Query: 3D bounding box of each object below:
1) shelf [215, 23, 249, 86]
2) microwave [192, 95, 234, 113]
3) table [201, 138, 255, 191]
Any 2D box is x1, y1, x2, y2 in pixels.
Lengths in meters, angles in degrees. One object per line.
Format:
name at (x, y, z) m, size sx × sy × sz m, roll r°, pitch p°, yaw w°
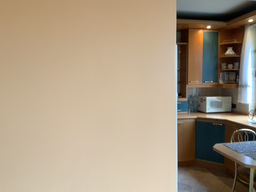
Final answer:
shelf at (1.810, -0.700, 3.710) m, size 0.400 × 1.050 × 0.290 m, roll -1°, pitch 5°, yaw -10°
microwave at (1.610, 0.140, 4.040) m, size 0.640 × 0.300 × 0.370 m, roll -1°, pitch 5°, yaw -10°
table at (1.540, 0.900, 2.190) m, size 1.290 × 0.750 × 0.700 m, roll -1°, pitch 5°, yaw -10°
